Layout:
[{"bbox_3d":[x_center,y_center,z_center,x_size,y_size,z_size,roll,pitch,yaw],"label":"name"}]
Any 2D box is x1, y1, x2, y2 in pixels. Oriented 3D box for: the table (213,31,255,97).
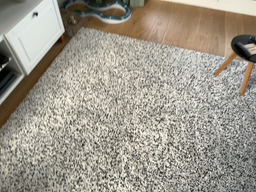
[{"bbox_3d":[0.860,-0.240,1.610,0.280,0.350,0.270,16,53,11],"label":"table"}]
